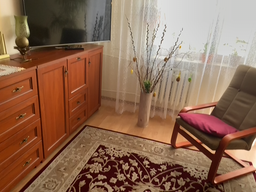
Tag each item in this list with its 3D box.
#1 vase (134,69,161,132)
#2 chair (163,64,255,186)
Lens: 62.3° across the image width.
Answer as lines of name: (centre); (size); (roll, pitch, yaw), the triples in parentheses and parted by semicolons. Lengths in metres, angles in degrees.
vase: (0.260, 0.040, 2.800); (0.210, 0.680, 0.470); (9, 22, 10)
chair: (0.960, 0.220, 2.220); (0.790, 0.940, 0.700); (-7, 25, -27)
